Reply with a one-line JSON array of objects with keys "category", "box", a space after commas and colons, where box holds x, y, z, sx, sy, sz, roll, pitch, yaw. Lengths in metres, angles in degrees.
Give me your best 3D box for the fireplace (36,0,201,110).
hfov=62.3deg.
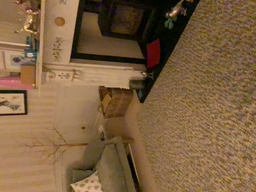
[{"category": "fireplace", "box": [-0.240, -0.770, 2.220, 1.860, 1.290, 0.820, 115, 145, -43]}]
